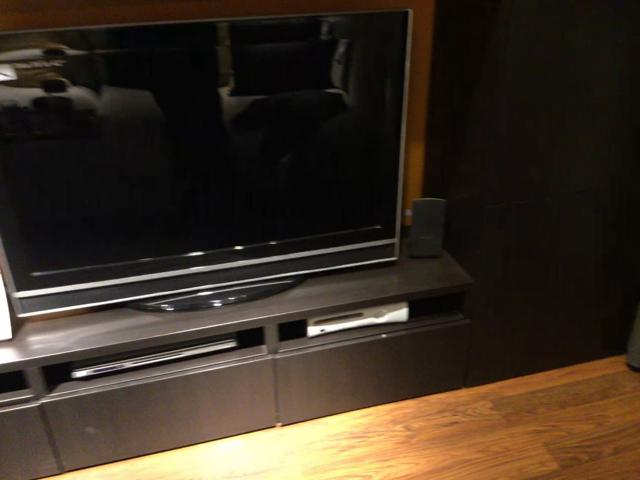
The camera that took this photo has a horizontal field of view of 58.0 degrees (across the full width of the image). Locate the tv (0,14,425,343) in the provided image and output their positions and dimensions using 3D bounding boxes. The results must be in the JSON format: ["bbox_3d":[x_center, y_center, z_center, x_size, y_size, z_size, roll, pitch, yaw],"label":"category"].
[{"bbox_3d":[-0.270,-0.160,1.490,1.070,0.740,0.120,-7,25,-11],"label":"tv"}]
